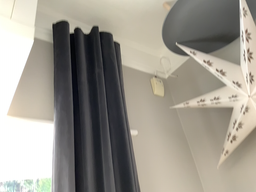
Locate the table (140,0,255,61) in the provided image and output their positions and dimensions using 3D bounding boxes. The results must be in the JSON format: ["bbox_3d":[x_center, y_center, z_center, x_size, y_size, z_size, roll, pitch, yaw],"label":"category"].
[{"bbox_3d":[0.390,-0.530,1.130,0.510,0.420,0.390,11,142,-32],"label":"table"}]
